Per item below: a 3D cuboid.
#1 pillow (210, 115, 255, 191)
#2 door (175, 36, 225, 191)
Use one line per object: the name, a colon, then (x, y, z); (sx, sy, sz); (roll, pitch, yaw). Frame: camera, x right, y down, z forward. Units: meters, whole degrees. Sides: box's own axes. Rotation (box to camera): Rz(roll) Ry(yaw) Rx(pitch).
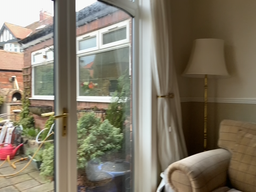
pillow: (1.000, 0.460, 1.630); (0.480, 0.600, 0.250); (1, -51, 45)
door: (0.810, 0.230, 2.380); (0.400, 0.400, 1.650); (2, -88, 39)
